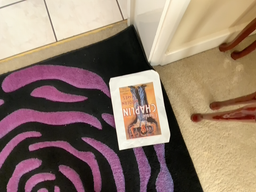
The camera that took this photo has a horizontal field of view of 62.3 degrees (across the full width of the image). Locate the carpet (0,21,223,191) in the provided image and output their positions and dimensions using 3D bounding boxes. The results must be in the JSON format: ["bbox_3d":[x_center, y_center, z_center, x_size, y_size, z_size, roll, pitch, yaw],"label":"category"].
[{"bbox_3d":[-0.050,0.520,0.770,0.870,0.020,1.470,-19,83,-3],"label":"carpet"}]
